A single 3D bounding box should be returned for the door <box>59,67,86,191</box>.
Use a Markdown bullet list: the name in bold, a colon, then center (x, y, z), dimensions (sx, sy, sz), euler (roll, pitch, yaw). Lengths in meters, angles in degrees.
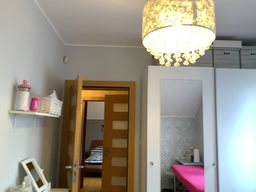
- **door**: center (-0.670, 0.800, 2.400), dimensions (0.100, 2.100, 0.830), euler (5, -8, -22)
